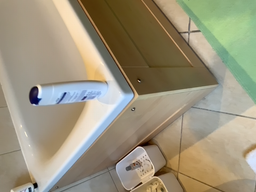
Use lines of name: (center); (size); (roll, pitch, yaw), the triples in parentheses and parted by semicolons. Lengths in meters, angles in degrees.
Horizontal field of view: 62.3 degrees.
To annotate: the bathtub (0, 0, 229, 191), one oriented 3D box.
bathtub: (-0.390, -0.490, 1.200); (0.750, 0.580, 1.690); (-48, 63, 38)
